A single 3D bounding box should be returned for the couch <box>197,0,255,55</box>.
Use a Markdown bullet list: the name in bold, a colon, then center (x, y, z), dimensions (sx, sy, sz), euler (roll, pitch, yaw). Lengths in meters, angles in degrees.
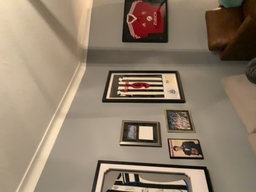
- **couch**: center (1.440, -1.100, 2.680), dimensions (0.920, 0.830, 0.800), euler (79, -168, -74)
